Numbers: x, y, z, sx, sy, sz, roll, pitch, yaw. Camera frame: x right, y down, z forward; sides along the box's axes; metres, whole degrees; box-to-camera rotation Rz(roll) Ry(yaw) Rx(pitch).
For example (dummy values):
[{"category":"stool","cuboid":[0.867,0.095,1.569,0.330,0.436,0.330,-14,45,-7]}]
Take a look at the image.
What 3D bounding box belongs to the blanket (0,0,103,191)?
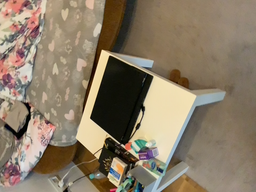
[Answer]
[{"category":"blanket","cuboid":[-0.750,-0.400,1.480,1.180,0.170,1.800,33,112,31]}]
